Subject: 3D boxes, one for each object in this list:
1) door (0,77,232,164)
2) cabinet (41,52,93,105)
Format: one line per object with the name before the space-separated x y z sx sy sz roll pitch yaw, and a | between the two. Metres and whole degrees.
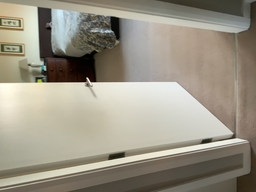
door | -0.210 0.080 1.620 0.800 2.020 0.060 54 138 48
cabinet | -1.430 -0.400 5.010 0.600 1.070 1.120 8 99 63
